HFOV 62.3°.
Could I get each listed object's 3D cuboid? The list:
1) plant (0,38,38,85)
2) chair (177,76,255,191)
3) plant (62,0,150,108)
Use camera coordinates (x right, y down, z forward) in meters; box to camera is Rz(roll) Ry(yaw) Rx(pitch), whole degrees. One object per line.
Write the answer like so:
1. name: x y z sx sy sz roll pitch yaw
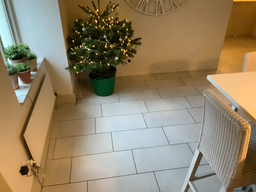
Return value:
1. plant: -1.110 -0.380 2.200 0.220 0.270 0.580 -8 33 -12
2. chair: 0.700 0.420 1.430 0.480 0.970 0.470 -5 33 -8
3. plant: -0.290 -0.630 2.910 0.940 1.290 0.780 -6 33 -9
